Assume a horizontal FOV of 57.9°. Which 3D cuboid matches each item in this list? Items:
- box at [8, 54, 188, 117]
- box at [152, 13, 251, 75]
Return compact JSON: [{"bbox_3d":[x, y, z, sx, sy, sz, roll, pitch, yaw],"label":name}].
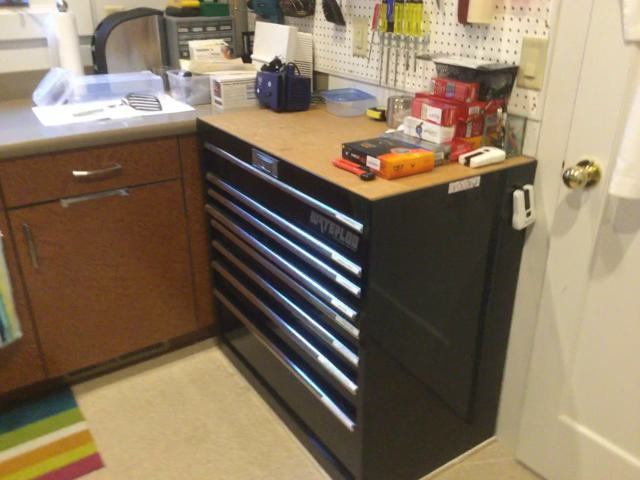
[{"bbox_3d":[-0.760,-0.540,1.970,0.460,0.110,0.440,-16,29,-32],"label":"box"},{"bbox_3d":[-0.440,-0.740,2.160,0.290,0.190,0.210,-16,29,-32],"label":"box"}]
